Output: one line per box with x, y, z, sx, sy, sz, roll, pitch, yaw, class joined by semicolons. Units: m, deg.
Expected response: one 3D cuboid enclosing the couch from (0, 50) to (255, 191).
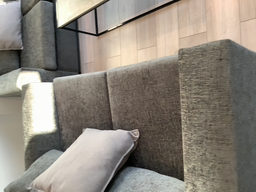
-0.120;0.360;1.340;1.640;0.850;0.890;-2;89;44;couch

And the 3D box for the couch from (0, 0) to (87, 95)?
-1.180;-1.130;2.330;1.150;0.830;2.190;-3;89;44;couch

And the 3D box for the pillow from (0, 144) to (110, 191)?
-0.550;0.570;1.500;0.640;0.510;0.210;3;67;42;pillow
